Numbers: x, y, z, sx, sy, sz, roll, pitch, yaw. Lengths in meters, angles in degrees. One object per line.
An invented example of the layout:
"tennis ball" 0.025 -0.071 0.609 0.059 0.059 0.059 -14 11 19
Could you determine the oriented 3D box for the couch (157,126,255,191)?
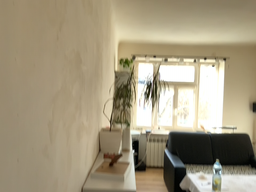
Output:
"couch" 1.360 1.050 3.440 1.610 0.910 0.940 2 2 -1
